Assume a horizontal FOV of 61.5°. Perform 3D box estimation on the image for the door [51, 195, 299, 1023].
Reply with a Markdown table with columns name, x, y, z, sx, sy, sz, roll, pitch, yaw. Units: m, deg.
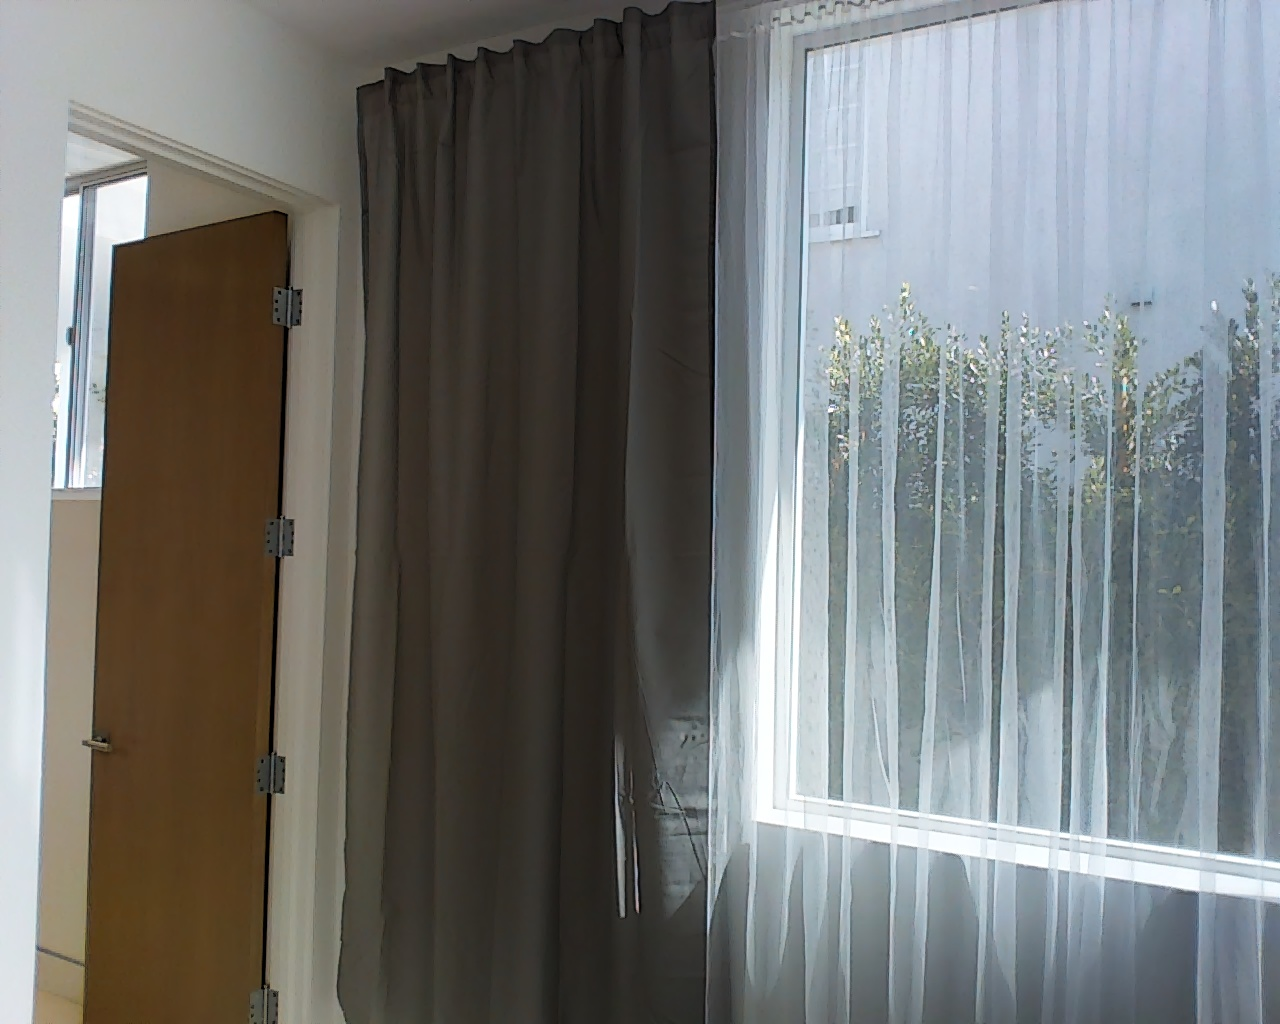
| name | x | y | z | sx | sy | sz | roll | pitch | yaw |
| --- | --- | --- | --- | --- | --- | --- | --- | --- | --- |
| door | -1.379 | 0.380 | 3.150 | 0.860 | 2.501 | 0.080 | 0 | -2 | 30 |
